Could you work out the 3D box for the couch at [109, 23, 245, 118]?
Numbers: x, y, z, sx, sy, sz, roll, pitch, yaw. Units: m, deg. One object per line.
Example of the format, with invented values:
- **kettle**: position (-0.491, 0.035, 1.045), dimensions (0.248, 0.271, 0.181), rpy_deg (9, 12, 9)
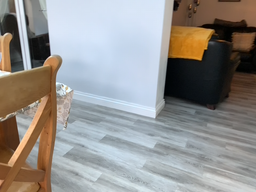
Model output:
- **couch**: position (0.650, -0.520, 3.140), dimensions (1.570, 0.960, 1.020), rpy_deg (18, 26, 33)
